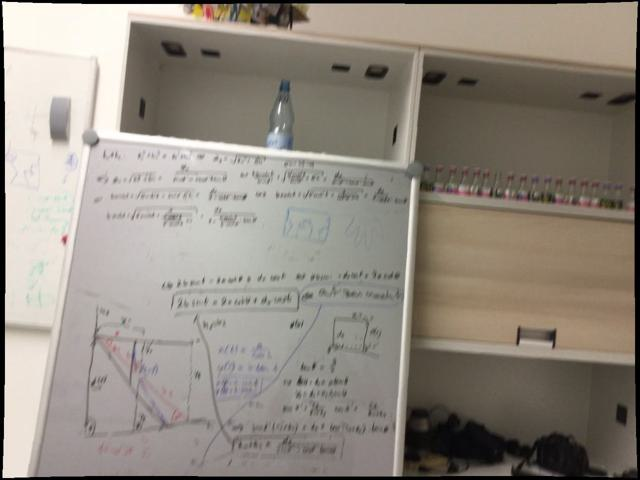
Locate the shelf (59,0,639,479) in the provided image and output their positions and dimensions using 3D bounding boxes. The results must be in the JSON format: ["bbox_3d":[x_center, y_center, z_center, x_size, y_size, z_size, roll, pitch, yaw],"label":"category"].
[{"bbox_3d":[0.210,0.430,1.720,1.688,2.242,0.600,2,0,-1],"label":"shelf"}]
